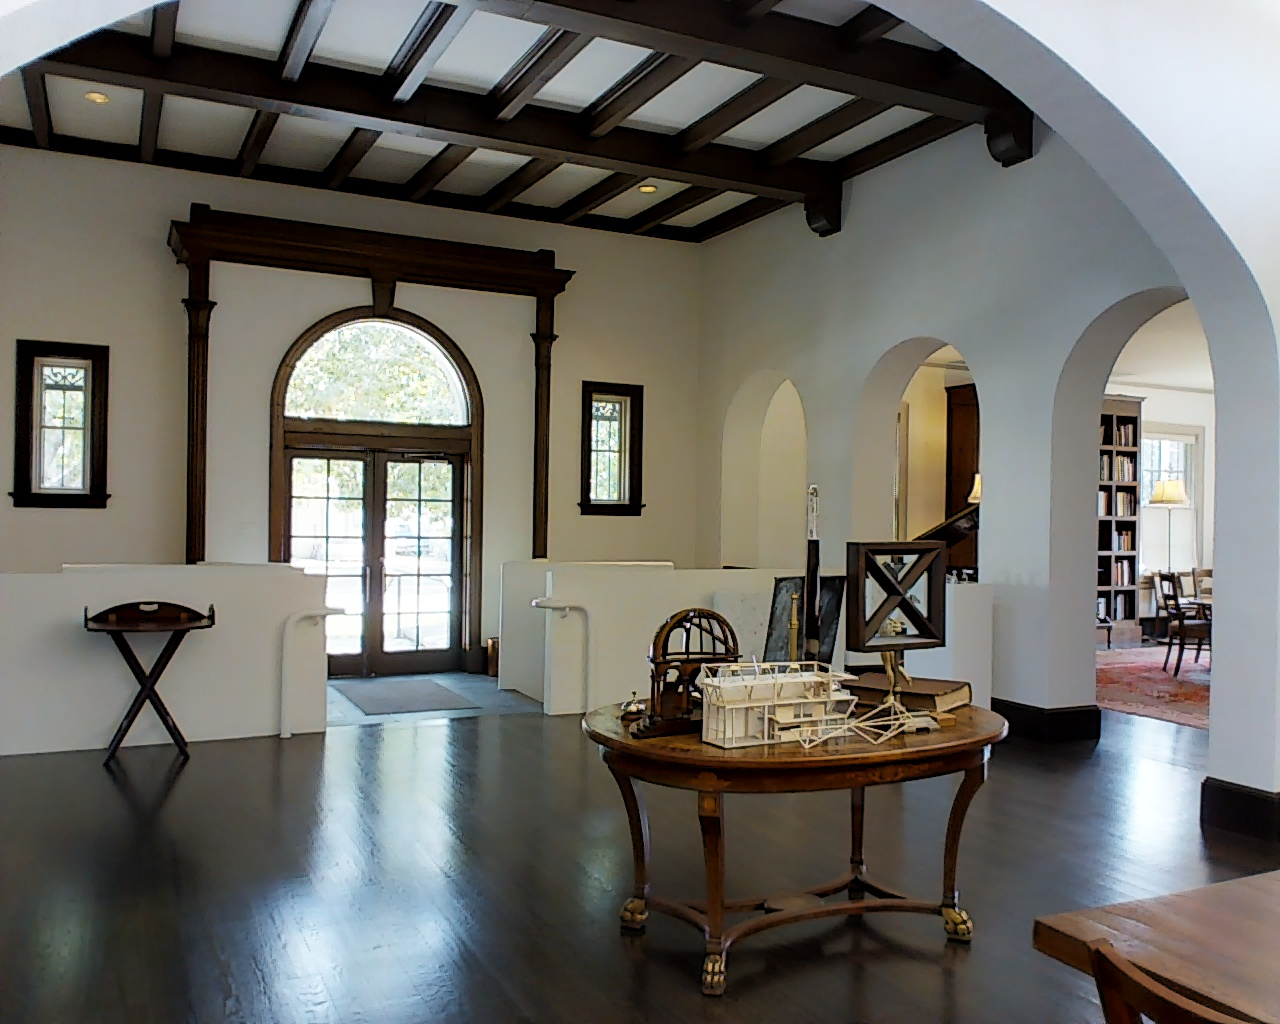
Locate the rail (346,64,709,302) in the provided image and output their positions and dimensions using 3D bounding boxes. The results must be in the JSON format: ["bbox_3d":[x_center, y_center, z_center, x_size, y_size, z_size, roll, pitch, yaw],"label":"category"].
[{"bbox_3d":[-0.760,-2.390,8.050,2.790,1.330,0.210,1,0,-26],"label":"rail"}]
